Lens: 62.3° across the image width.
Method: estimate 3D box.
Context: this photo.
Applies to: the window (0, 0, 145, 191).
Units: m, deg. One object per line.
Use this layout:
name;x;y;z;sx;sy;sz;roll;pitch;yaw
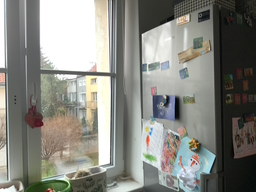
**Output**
window;-0.580;-0.180;1.240;1.520;1.700;0.200;-1;0;-34
